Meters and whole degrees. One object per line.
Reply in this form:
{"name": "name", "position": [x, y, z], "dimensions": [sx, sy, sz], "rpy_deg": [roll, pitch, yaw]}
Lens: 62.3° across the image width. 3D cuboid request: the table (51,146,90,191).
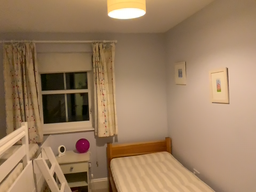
{"name": "table", "position": [-0.760, 1.100, 2.910], "dimensions": [0.450, 0.670, 0.470], "rpy_deg": [-3, 4, -11]}
